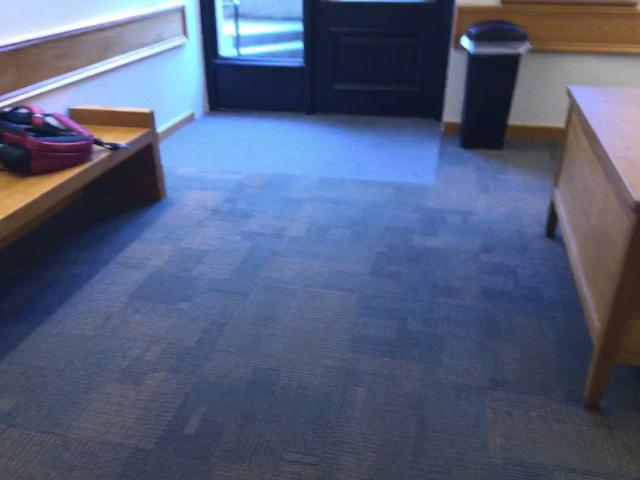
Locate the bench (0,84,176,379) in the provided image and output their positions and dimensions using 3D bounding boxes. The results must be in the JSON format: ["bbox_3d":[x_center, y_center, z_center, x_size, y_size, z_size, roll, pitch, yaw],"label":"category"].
[{"bbox_3d":[-1.260,-0.100,2.430,0.560,0.580,1.790,9,31,9],"label":"bench"}]

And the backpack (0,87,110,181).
[{"bbox_3d":[-1.250,-0.490,2.580,0.400,0.250,0.430,-25,36,-38],"label":"backpack"}]
